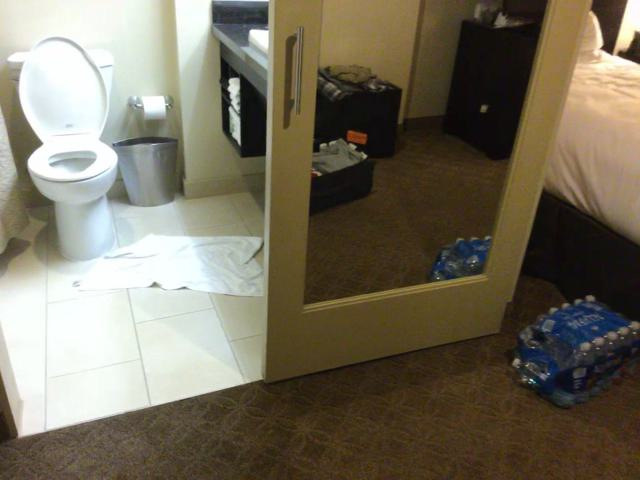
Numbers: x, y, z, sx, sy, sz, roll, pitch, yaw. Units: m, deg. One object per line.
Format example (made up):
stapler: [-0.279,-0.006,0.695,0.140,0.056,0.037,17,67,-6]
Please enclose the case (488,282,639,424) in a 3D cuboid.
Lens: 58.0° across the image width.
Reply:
case: [0.880,0.360,1.940,0.490,0.230,0.310,-10,30,-17]
